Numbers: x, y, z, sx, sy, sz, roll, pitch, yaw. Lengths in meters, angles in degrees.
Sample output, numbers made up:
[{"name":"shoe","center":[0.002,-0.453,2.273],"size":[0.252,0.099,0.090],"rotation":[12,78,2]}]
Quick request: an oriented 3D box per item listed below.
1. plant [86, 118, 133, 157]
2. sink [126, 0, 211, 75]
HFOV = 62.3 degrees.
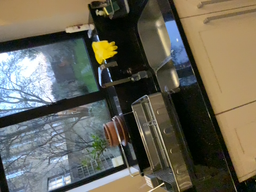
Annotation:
[{"name":"plant","center":[-0.150,0.300,1.570],"size":[0.250,0.270,0.190],"rotation":[143,110,-73]},{"name":"sink","center":[0.220,-0.440,1.350],"size":[0.430,0.240,0.470],"rotation":[140,113,-73]}]
